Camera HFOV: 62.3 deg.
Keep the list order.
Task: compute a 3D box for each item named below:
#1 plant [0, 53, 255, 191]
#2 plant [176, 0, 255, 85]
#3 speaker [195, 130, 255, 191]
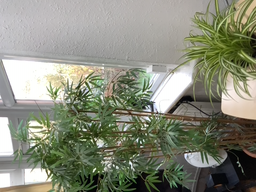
[{"bbox_3d":[0.260,0.240,1.220,0.500,1.640,0.640,-106,24,-47],"label":"plant"},{"bbox_3d":[0.380,-0.170,0.770,0.260,0.310,0.220,174,98,-74],"label":"plant"},{"bbox_3d":[0.800,0.500,1.640,0.270,0.350,0.390,111,156,-48],"label":"speaker"}]
